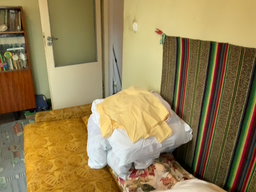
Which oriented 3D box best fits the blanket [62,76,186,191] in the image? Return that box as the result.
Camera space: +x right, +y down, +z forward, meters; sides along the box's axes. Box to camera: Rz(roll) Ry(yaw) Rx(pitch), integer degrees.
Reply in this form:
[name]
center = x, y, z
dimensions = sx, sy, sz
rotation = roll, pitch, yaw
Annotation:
[blanket]
center = -0.110, 0.210, 1.760
dimensions = 0.660, 0.450, 0.890
rotation = -9, 26, -25
